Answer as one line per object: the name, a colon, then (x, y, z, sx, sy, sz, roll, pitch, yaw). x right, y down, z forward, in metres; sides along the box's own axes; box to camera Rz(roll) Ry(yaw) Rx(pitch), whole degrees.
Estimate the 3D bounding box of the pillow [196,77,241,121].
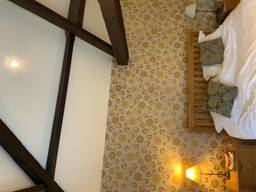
pillow: (1.130, 0.040, 2.640, 0.180, 0.380, 0.450, 36, 110, 56)
